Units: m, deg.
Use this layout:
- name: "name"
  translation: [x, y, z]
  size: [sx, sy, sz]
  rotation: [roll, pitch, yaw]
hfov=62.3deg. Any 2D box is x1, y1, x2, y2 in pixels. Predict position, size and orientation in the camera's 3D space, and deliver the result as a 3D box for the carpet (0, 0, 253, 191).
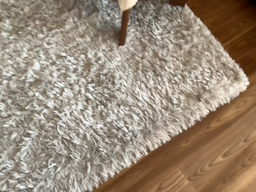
- name: "carpet"
  translation: [-0.360, -0.370, 1.260]
  size: [1.640, 0.020, 1.610]
  rotation: [-30, 75, -17]
